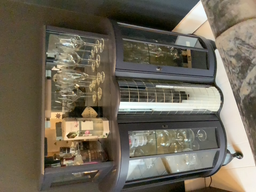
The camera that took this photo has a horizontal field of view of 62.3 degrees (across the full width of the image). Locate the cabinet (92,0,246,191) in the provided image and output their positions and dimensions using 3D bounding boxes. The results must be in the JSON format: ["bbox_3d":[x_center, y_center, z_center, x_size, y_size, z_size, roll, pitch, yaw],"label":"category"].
[{"bbox_3d":[0.240,0.020,1.350,0.360,0.830,0.980,-21,70,62],"label":"cabinet"}]

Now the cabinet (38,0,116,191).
[{"bbox_3d":[-0.290,0.020,1.120,0.320,0.310,0.910,-21,70,62],"label":"cabinet"}]
